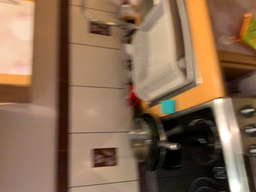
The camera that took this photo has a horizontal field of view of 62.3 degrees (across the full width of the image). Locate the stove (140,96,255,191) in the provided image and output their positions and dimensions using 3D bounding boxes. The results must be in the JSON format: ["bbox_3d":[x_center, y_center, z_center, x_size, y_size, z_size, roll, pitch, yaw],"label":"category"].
[{"bbox_3d":[0.270,0.320,0.920,0.620,0.150,0.490,145,125,-63],"label":"stove"}]
